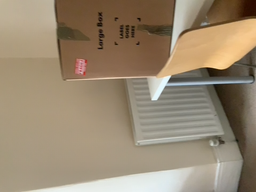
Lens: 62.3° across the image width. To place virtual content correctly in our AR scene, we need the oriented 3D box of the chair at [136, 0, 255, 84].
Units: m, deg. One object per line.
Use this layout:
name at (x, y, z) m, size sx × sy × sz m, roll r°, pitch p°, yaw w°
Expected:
chair at (0.520, -0.360, 0.990) m, size 0.390 × 0.840 × 0.450 m, roll 121°, pitch 143°, yaw -67°

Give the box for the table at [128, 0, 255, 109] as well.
table at (0.510, -0.480, 1.200) m, size 1.090 × 0.740 × 0.640 m, roll 110°, pitch 153°, yaw -59°

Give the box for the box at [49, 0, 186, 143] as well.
box at (-0.150, -0.310, 1.360) m, size 0.850 × 0.540 × 0.760 m, roll -112°, pitch 23°, yaw -52°
